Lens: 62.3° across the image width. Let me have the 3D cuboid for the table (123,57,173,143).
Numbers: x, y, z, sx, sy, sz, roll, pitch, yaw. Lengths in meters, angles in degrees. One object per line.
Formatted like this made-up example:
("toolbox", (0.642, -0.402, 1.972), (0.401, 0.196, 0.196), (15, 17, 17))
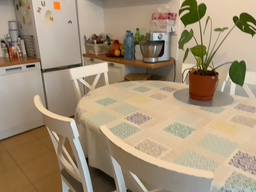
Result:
("table", (0.220, 0.020, 2.440), (0.410, 0.850, 0.360), (-18, 26, -41))
